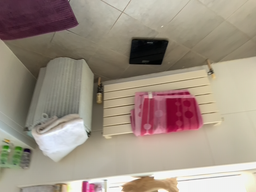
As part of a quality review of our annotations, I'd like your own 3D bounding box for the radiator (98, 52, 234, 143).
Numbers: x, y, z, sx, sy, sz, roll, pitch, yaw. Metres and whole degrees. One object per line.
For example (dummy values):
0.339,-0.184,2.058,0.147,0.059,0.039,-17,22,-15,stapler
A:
0.220,0.000,1.570,0.870,0.580,0.110,-9,146,8,radiator
